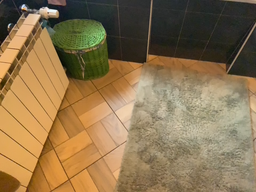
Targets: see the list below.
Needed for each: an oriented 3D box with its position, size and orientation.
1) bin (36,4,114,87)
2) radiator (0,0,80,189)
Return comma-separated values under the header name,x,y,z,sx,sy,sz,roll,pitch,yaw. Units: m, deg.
name,x,y,z,sx,sy,sz,roll,pitch,yaw
bin,-0.330,-0.340,1.500,0.370,0.450,0.290,9,59,7
radiator,-0.560,0.010,1.170,0.210,0.640,0.820,9,59,7
